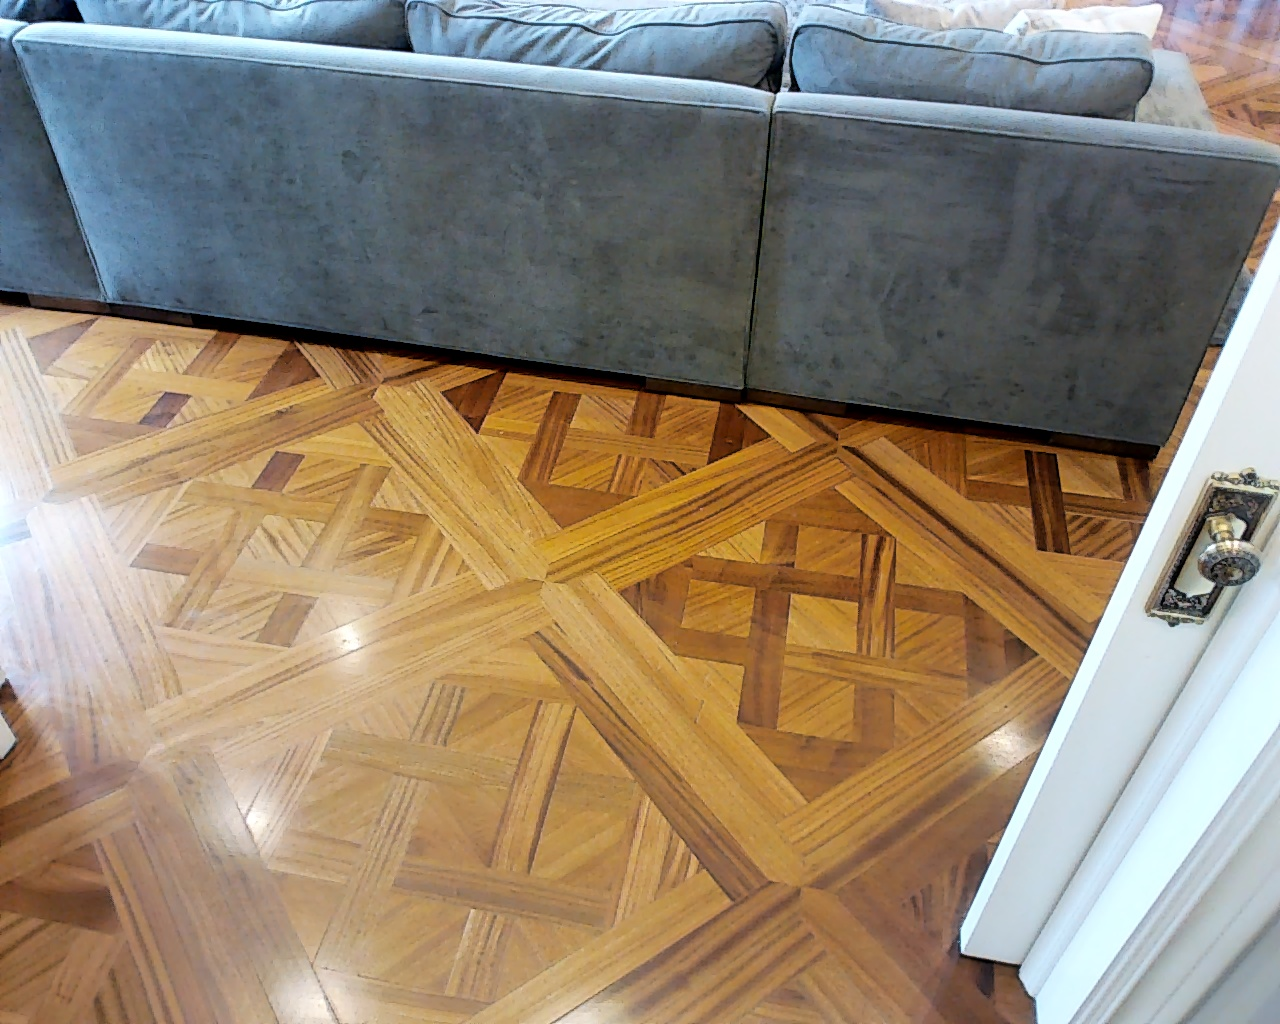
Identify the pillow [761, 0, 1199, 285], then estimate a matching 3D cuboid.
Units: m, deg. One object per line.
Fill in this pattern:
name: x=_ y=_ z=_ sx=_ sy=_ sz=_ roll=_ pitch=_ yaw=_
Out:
pillow: x=0.750 y=-0.900 z=2.500 sx=0.820 sy=0.460 sz=0.320 roll=14 pitch=47 yaw=2
